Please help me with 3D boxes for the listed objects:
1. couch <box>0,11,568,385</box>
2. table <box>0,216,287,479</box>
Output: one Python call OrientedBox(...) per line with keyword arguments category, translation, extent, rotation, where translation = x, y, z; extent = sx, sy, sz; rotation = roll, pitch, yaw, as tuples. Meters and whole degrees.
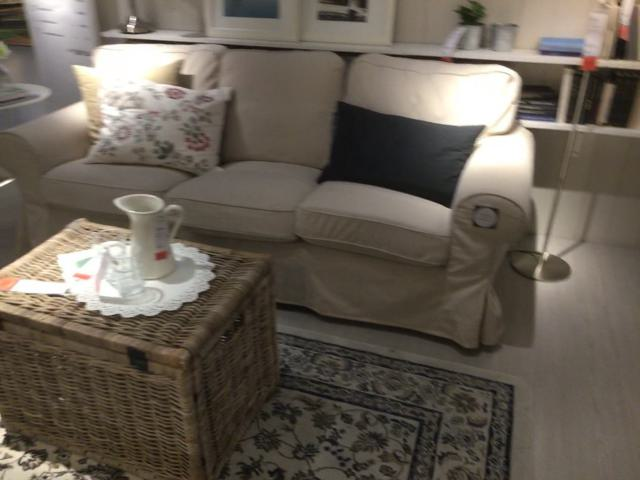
OrientedBox(category="couch", translation=(-0.170, -0.370, 2.520), extent=(2.140, 1.000, 1.100), rotation=(10, 29, 19))
OrientedBox(category="table", translation=(-0.550, 0.320, 1.730), extent=(0.730, 0.520, 0.520), rotation=(10, 29, 19))
